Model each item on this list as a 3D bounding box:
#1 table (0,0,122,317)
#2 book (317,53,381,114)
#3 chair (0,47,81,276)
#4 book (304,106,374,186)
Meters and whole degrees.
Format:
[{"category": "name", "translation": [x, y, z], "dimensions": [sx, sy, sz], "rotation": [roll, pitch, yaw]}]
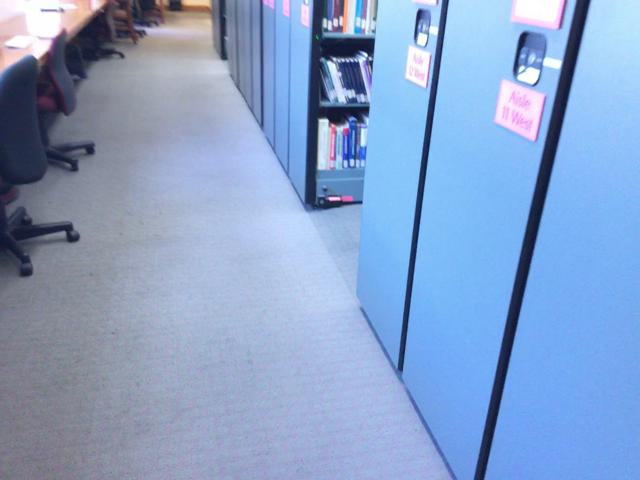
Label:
[{"category": "table", "translation": [-1.700, -0.640, 2.640], "dimensions": [0.920, 1.020, 6.100], "rotation": [-1, 21, -13]}, {"category": "book", "translation": [0.150, -0.840, 3.100], "dimensions": [0.280, 0.290, 0.200], "rotation": [-1, 21, -13]}, {"category": "chair", "translation": [-1.510, -0.390, 2.640], "dimensions": [0.610, 0.900, 0.710], "rotation": [-1, 21, -13]}, {"category": "book", "translation": [0.100, -0.530, 3.240], "dimensions": [0.320, 0.400, 0.230], "rotation": [-1, 21, -13]}]
